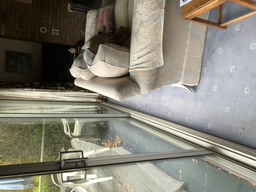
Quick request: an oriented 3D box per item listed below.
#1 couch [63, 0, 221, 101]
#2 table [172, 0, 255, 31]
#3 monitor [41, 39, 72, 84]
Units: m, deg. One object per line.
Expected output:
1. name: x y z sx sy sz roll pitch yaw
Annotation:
1. couch: -0.090 -0.650 2.410 1.960 0.890 1.200 -170 83 -64
2. table: 0.620 -0.740 1.460 0.420 0.450 0.380 177 95 -64
3. monitor: -1.450 -0.700 4.320 0.060 0.590 0.920 143 125 -58
